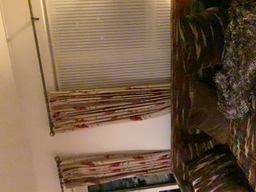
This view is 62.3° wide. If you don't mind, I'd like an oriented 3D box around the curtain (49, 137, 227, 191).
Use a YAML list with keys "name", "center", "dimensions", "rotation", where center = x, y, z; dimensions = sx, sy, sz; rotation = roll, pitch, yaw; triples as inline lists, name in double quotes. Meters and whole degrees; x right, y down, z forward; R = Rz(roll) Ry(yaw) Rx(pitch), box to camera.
- name: "curtain"
  center: [0.170, 0.920, 2.840]
  dimensions: [0.260, 2.260, 0.420]
  rotation: [-114, 20, -72]

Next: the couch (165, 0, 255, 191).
- name: "couch"
  center: [0.920, 0.040, 2.010]
  dimensions: [1.180, 0.780, 2.580]
  rotation: [-116, 22, -73]
